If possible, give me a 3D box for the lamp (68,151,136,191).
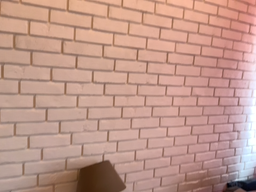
[{"bbox_3d":[-0.170,0.620,1.210,0.300,0.510,0.260,1,8,-26],"label":"lamp"}]
